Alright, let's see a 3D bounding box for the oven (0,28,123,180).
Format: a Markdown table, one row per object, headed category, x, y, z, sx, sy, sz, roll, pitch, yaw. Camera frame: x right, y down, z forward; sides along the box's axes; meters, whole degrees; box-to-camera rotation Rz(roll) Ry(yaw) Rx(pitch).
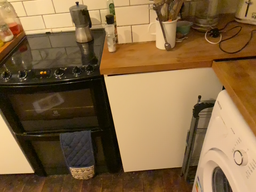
| category | x | y | z | sx | sy | sz | roll | pitch | yaw |
| --- | --- | --- | --- | --- | --- | --- | --- | --- | --- |
| oven | -0.380 | 0.070 | 1.550 | 0.600 | 0.880 | 0.630 | -3 | 38 | 3 |
